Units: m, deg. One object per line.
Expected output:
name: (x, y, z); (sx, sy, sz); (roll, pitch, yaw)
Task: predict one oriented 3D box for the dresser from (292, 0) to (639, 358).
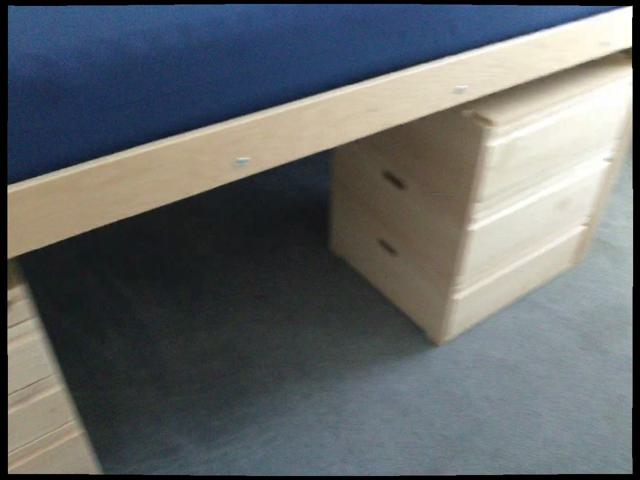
dresser: (0.479, -0.291, 1.980); (0.849, 0.781, 0.780); (-23, 45, -27)
